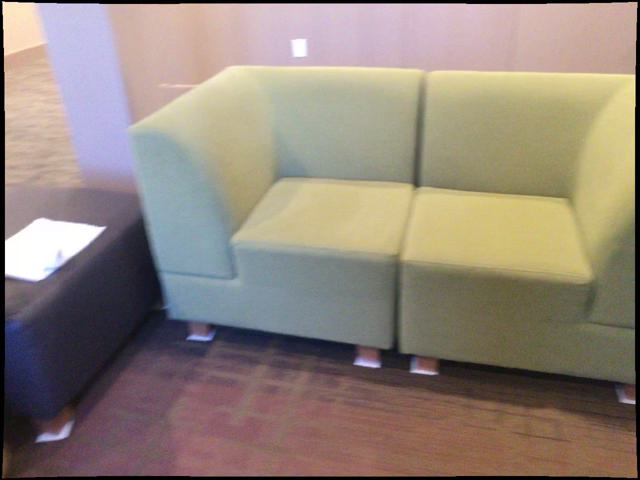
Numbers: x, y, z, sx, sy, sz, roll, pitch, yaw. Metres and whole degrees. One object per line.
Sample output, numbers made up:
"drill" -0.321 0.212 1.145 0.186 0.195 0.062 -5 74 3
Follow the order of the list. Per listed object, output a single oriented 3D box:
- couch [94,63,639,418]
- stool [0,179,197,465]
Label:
"couch" 0.279 -0.090 1.960 1.646 0.802 0.800 4 31 13
"stool" -0.908 0.201 1.900 0.658 0.491 0.780 5 31 13
